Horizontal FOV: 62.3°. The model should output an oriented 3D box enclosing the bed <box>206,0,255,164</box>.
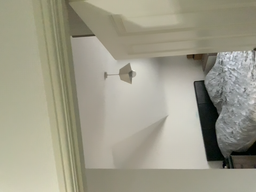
[{"bbox_3d":[1.780,-0.180,3.120,2.140,0.580,1.740,77,-168,-56],"label":"bed"}]
